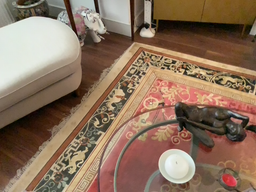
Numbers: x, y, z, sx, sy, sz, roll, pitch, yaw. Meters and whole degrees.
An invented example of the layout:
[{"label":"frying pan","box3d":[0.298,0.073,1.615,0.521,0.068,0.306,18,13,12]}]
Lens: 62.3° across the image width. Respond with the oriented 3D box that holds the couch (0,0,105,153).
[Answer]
[{"label":"couch","box3d":[-1.010,-0.150,1.250,1.480,0.820,0.740,-31,54,-21]}]
